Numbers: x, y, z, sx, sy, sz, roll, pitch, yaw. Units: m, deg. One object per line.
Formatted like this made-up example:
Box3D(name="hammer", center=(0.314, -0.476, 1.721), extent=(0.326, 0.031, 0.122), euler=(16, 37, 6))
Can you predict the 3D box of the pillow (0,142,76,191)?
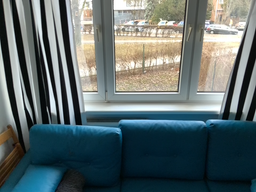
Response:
Box3D(name="pillow", center=(-0.620, 0.570, 1.520), extent=(0.310, 0.140, 0.620), euler=(1, 21, 2))
